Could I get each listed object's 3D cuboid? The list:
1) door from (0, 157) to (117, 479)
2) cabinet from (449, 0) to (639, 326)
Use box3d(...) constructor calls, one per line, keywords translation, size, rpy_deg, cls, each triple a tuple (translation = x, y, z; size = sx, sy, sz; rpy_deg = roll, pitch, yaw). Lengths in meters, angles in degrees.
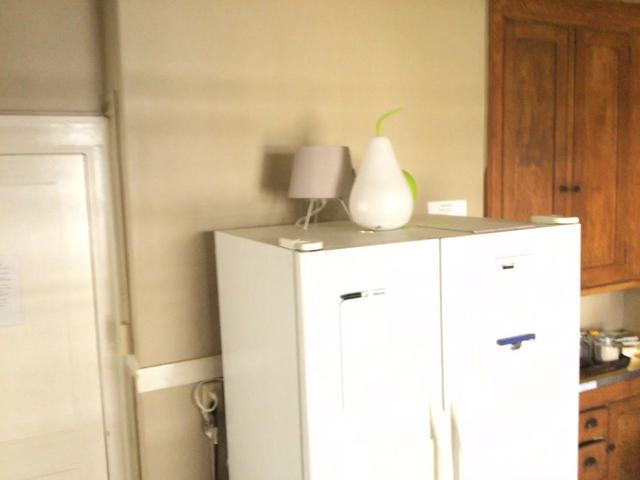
box3d(translation=(-1.220, 0.660, 2.250), size=(0.780, 1.940, 0.140), rpy_deg=(-3, 5, -22), cls="door")
box3d(translation=(1.210, -0.390, 2.770), size=(1.320, 1.480, 0.100), rpy_deg=(-3, 5, -22), cls="cabinet")
